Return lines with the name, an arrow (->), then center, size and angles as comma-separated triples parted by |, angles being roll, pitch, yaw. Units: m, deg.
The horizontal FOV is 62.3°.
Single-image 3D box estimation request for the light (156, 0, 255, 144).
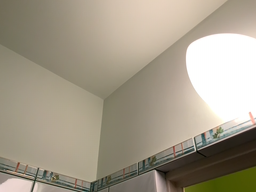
light -> 0.220, -0.070, 0.460 | 0.200, 0.230, 0.220 | 29, -48, -30
